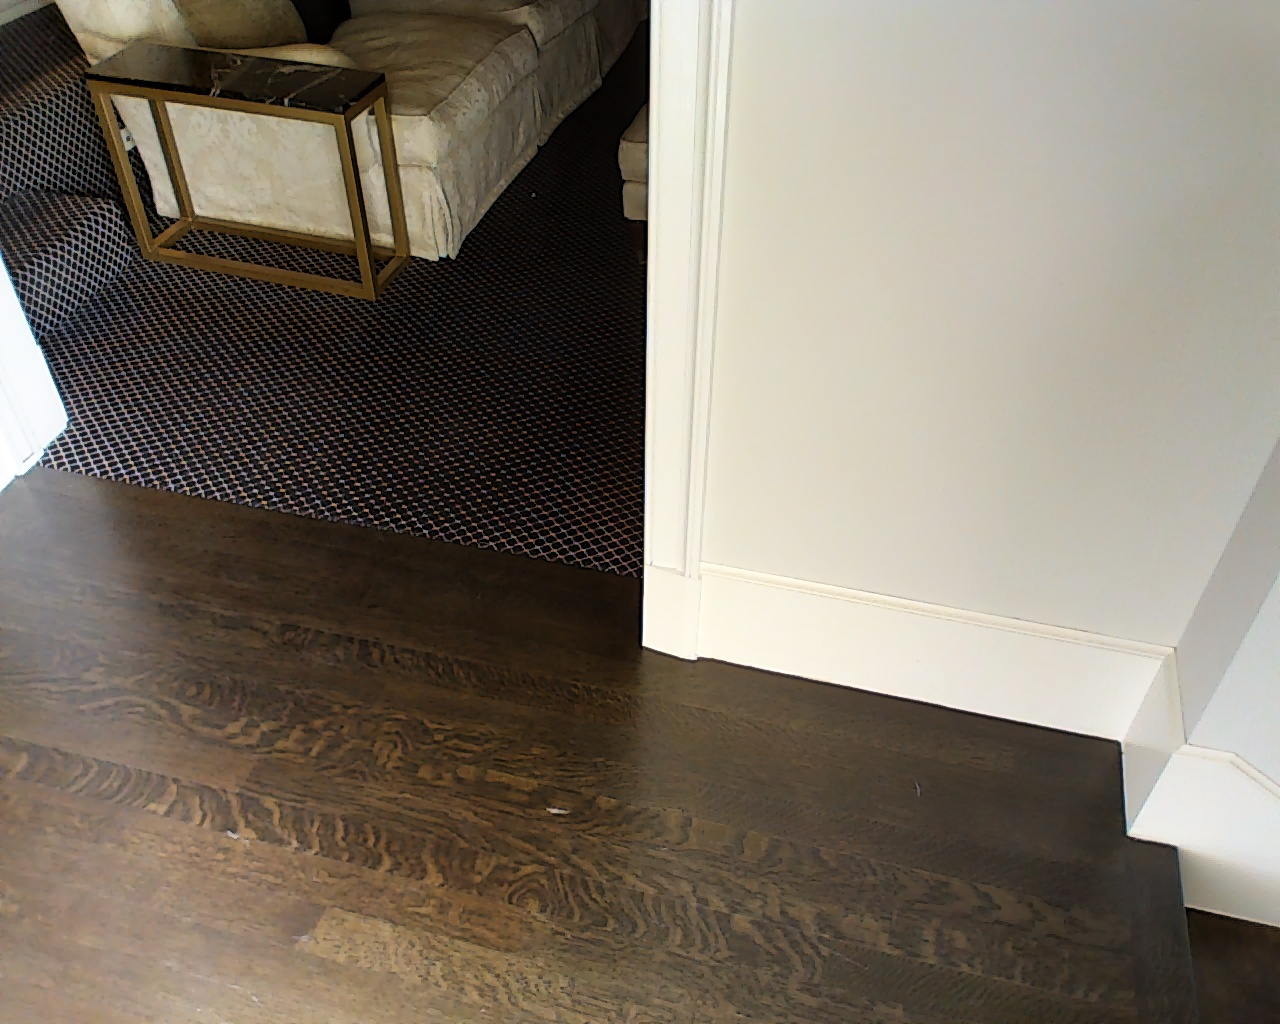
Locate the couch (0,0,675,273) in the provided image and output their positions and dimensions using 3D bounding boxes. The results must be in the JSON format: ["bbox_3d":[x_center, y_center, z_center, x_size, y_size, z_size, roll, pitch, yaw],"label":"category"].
[{"bbox_3d":[-0.830,-2.000,3.890,1.360,0.920,2.620,10,43,11],"label":"couch"}]

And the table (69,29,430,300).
[{"bbox_3d":[-1.070,-0.980,3.040,0.830,0.580,0.270,11,43,12],"label":"table"}]
